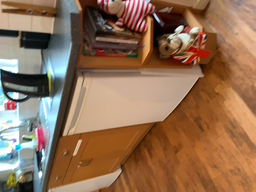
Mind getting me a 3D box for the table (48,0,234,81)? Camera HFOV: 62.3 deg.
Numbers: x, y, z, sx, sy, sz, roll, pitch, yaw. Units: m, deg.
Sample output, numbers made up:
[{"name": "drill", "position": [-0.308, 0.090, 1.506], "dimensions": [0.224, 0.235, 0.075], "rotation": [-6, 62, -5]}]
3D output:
[{"name": "table", "position": [0.090, -0.320, 1.170], "dimensions": [0.300, 0.930, 0.340], "rotation": [-60, 44, 44]}]
